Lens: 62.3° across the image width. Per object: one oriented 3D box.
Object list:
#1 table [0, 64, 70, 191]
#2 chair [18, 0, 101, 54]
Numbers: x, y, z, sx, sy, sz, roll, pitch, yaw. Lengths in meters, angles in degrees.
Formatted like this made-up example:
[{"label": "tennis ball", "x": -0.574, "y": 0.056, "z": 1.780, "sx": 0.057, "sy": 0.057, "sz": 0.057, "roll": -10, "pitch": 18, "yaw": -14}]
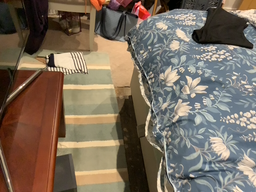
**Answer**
[{"label": "table", "x": -0.460, "y": 0.270, "z": 0.960, "sx": 0.320, "sy": 0.530, "sz": 0.620, "roll": 1, "pitch": 50, "yaw": -11}, {"label": "chair", "x": -0.500, "y": -0.860, "z": 1.630, "sx": 0.560, "sy": 0.950, "sz": 0.470, "roll": 1, "pitch": 50, "yaw": -11}]
